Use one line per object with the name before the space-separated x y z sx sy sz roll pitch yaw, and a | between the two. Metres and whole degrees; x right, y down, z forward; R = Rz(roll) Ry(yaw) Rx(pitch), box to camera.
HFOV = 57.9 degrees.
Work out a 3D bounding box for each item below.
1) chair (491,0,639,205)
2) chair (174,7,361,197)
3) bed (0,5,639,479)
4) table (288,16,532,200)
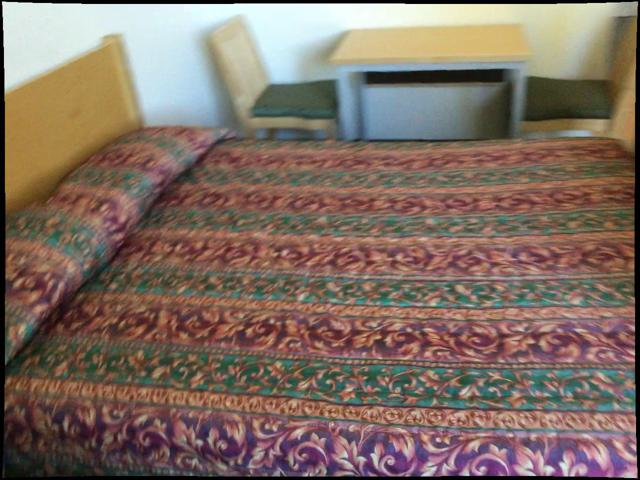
chair | 1.199 -0.711 2.820 0.629 0.861 0.620 3 34 14
chair | -0.230 -0.761 3.190 0.779 0.841 0.580 3 34 14
bed | 0.050 0.070 1.720 2.238 0.991 1.860 3 34 14
table | 0.480 -0.701 3.030 1.079 0.721 0.650 3 34 14
